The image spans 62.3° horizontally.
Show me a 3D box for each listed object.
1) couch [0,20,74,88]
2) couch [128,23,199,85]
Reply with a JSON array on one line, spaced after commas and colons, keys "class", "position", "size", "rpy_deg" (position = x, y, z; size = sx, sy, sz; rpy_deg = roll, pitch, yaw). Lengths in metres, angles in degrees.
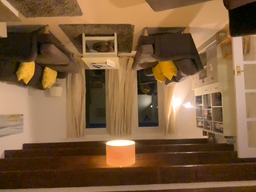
[{"class": "couch", "position": [-1.890, -0.680, 4.170], "size": [1.230, 0.880, 1.920], "rpy_deg": [-1, 177, -3]}, {"class": "couch", "position": [0.580, -0.730, 4.290], "size": [1.110, 0.840, 1.660], "rpy_deg": [-1, 177, -1]}]
